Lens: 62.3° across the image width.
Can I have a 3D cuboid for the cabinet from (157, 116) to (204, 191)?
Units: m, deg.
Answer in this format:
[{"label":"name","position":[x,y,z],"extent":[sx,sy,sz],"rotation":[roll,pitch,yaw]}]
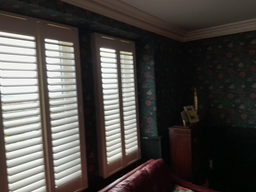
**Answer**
[{"label":"cabinet","position":[0.700,0.870,2.720],"extent":[0.320,1.120,0.670],"rotation":[-1,4,36]}]
